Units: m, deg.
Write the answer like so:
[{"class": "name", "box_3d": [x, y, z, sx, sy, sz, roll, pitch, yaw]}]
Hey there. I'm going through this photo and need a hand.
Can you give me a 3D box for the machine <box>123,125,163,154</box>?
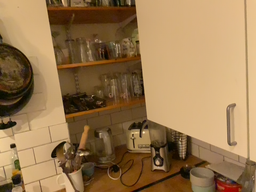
[{"class": "machine", "box_3d": [0.120, 0.340, 1.680, 0.270, 0.170, 0.150, -2, 11, 23]}]
